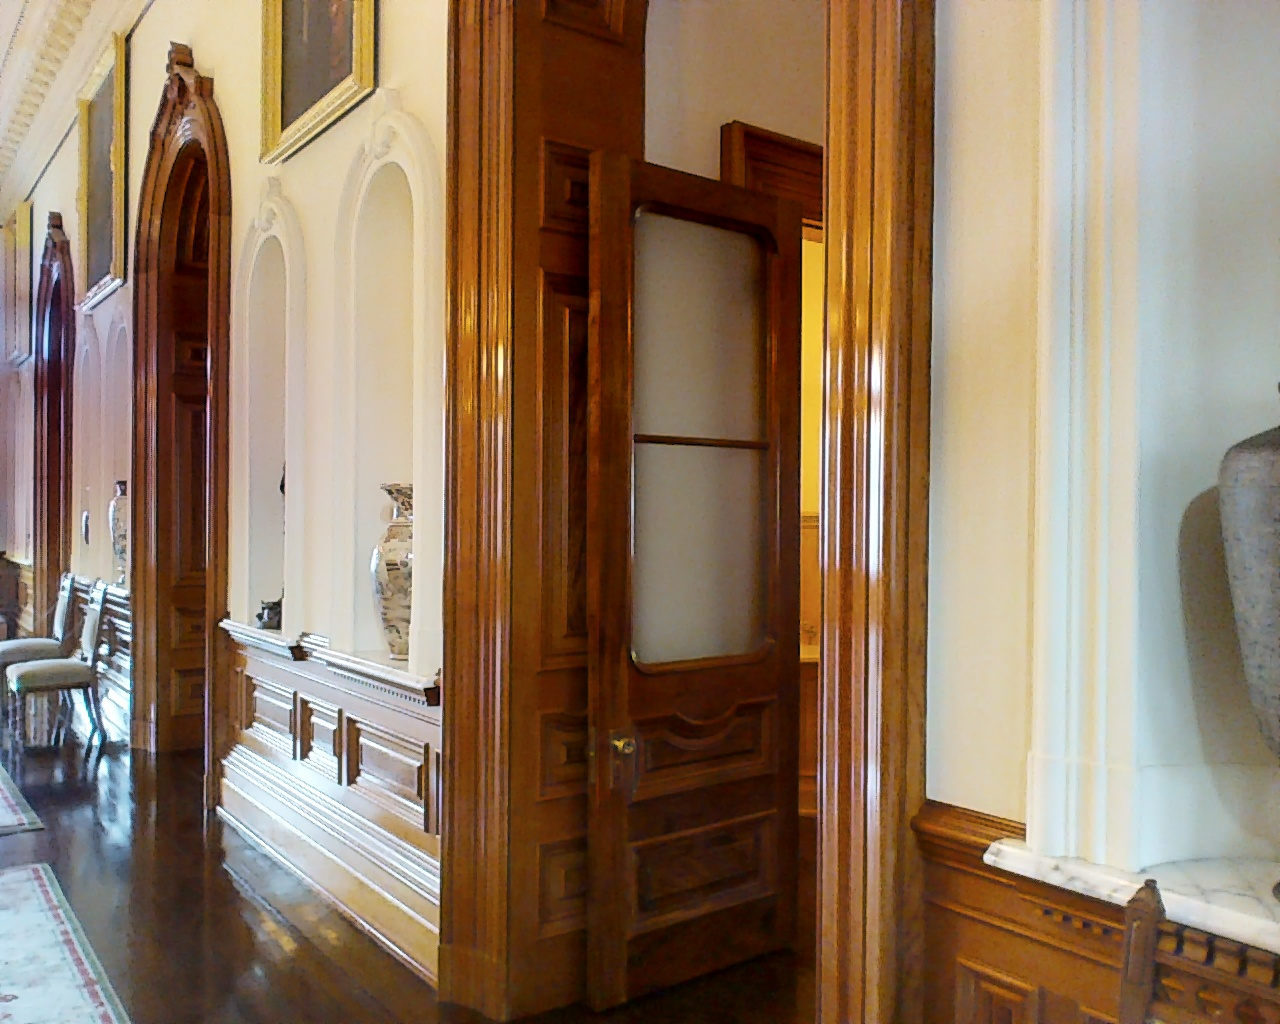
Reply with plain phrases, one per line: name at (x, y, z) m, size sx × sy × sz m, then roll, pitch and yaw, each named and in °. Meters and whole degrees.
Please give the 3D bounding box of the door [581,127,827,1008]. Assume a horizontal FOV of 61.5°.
door at (0.250, 0.170, 3.660) m, size 1.020 × 2.710 × 0.100 m, roll 0°, pitch 0°, yaw -38°
